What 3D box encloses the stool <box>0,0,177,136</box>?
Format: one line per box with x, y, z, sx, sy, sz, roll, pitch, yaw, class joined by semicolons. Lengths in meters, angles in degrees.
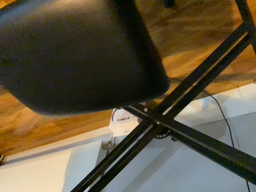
-0.110;-0.200;0.610;0.410;0.480;0.330;-12;134;25;stool

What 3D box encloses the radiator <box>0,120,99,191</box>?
-0.790;0.550;1.670;1.310;0.450;0.080;-20;130;31;radiator
